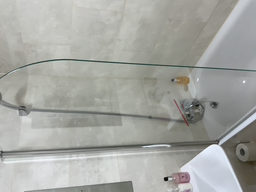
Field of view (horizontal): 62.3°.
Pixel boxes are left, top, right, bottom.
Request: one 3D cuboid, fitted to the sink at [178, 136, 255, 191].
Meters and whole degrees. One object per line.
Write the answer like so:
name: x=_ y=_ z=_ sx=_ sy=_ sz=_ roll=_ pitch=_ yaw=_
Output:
sink: x=0.530 y=0.570 z=1.140 sx=0.440 sy=0.190 sz=0.560 roll=113 pitch=153 yaw=-50
